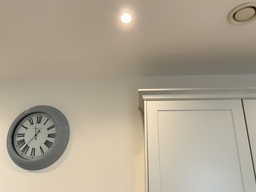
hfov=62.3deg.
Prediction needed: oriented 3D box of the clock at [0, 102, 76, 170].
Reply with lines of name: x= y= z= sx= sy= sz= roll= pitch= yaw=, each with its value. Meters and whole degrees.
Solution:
clock: x=-0.720 y=0.310 z=1.710 sx=0.540 sy=0.530 sz=0.050 roll=-1 pitch=-20 yaw=4
